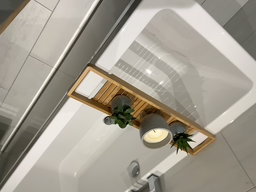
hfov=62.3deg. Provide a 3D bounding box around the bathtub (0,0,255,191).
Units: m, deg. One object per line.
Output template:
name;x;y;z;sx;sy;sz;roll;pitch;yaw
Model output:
bathtub;-0.190;0.190;1.270;0.690;0.550;1.680;28;118;-28
